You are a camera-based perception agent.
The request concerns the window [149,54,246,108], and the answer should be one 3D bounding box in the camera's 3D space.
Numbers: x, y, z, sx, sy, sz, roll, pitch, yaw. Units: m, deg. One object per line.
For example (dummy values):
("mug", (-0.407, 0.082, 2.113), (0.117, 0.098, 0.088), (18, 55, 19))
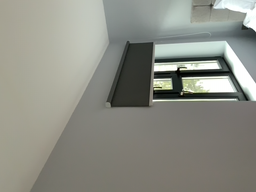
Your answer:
("window", (0.810, -0.230, 2.750), (0.960, 1.020, 0.180), (-79, -14, -53))
